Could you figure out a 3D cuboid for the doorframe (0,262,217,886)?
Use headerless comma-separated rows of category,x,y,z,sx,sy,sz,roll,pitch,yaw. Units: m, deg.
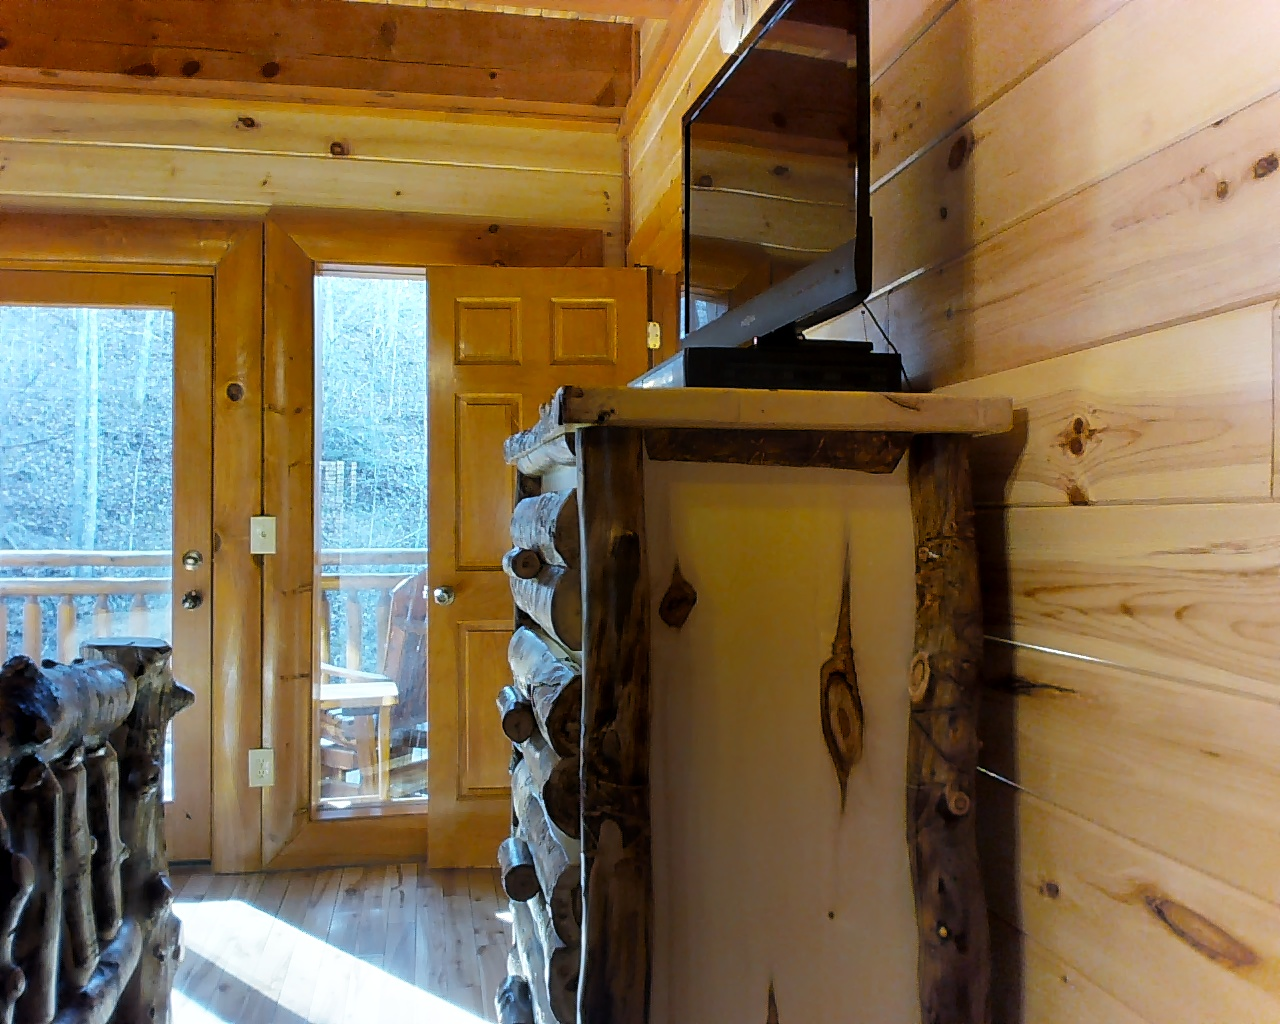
doorframe,-1.929,0.200,3.610,0.940,2.031,0.140,0,-1,-11

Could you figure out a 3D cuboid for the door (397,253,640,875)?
door,-0.410,0.170,3.670,0.810,2.071,0.110,0,-1,-3

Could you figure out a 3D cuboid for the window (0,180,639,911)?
window,-1.919,0.100,3.510,3.829,2.251,0.360,0,-1,-11
